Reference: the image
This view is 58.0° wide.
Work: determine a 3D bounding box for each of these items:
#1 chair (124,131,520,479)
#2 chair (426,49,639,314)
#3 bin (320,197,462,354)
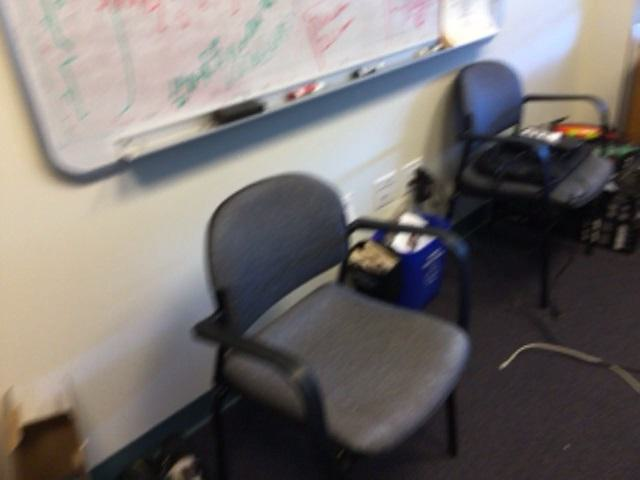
[{"bbox_3d":[0.040,0.240,1.310,0.540,0.750,0.560,22,40,41],"label":"chair"},{"bbox_3d":[0.790,-0.250,2.080,0.620,0.710,0.490,22,40,41],"label":"chair"},{"bbox_3d":[0.270,0.110,2.080,0.260,0.330,0.460,22,40,41],"label":"bin"}]
